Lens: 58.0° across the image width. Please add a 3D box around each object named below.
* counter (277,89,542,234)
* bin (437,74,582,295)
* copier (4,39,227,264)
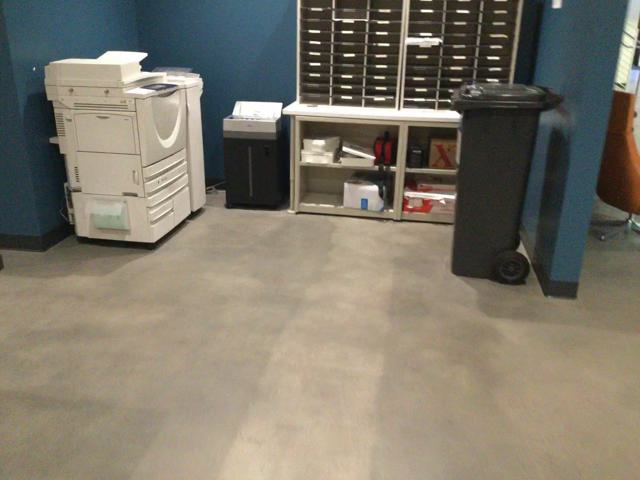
[{"bbox_3d":[0.560,-0.560,3.940,1.620,0.820,0.470,4,22,8],"label":"counter"},{"bbox_3d":[0.940,-0.310,3.040,0.540,1.030,0.520,4,22,8],"label":"bin"},{"bbox_3d":[-1.140,-0.640,3.630,0.680,1.110,1.290,4,22,8],"label":"copier"}]
